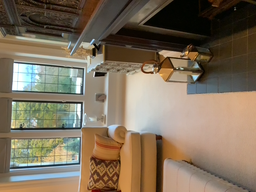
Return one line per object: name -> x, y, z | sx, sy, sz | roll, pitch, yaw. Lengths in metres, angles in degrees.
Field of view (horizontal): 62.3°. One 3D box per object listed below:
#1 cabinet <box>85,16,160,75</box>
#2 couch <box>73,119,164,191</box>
cabinet -> -0.150, -0.710, 3.370 | 1.110, 0.840, 0.550 | 176, 96, -68
couch -> -0.210, 1.470, 3.050 | 1.050, 0.980, 2.180 | 175, 97, -68
